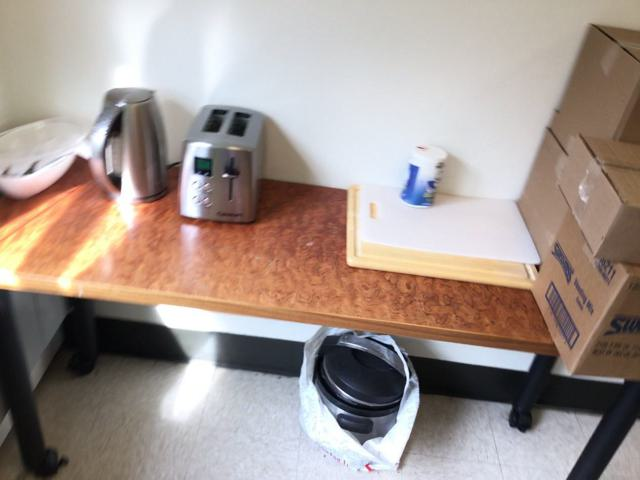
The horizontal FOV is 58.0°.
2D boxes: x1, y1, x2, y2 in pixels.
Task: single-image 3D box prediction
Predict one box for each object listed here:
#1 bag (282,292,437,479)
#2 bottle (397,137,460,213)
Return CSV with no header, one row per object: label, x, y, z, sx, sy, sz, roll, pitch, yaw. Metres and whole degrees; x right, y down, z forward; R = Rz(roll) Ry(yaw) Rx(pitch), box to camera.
bag,0.100,0.430,1.640,0.360,0.370,0.390,5,31,1
bottle,0.260,-0.160,1.410,0.120,0.140,0.110,5,31,1
